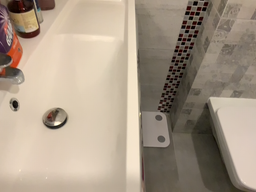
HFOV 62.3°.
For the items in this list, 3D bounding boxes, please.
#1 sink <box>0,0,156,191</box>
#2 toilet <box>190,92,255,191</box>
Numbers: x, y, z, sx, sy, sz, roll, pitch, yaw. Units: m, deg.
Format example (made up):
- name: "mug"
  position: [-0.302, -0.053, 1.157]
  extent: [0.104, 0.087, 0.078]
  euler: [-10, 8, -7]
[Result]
- name: "sink"
  position: [-0.190, -0.060, 0.650]
  extent: [0.460, 0.100, 0.990]
  euler: [1, 50, -4]
- name: "toilet"
  position: [0.630, 0.310, 1.180]
  extent: [0.360, 0.390, 0.520]
  euler: [3, 50, -3]
